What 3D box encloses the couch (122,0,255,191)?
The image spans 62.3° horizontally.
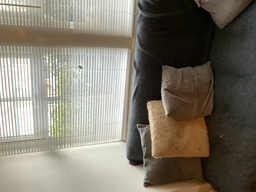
[{"bbox_3d":[0.570,-0.290,1.390,0.950,0.840,1.870,-139,50,-63],"label":"couch"}]
